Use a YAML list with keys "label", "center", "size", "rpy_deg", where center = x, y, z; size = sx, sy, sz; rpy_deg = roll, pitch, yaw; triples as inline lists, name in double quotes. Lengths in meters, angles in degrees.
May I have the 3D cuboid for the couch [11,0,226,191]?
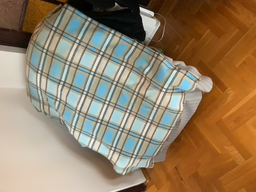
- label: "couch"
  center: [-0.180, -0.070, 1.650]
  size: [1.040, 1.020, 0.960]
  rpy_deg: [51, 126, 37]
